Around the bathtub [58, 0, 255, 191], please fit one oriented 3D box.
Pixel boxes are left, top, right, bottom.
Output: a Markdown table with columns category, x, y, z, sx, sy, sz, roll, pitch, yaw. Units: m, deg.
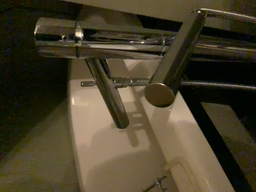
| category | x | y | z | sx | sy | sz | roll | pitch | yaw |
| --- | --- | --- | --- | --- | --- | --- | --- | --- | --- |
| bathtub | 0.270 | 0.370 | 0.790 | 0.810 | 0.710 | 1.820 | -61 | 40 | 45 |
